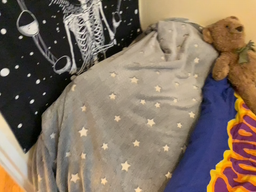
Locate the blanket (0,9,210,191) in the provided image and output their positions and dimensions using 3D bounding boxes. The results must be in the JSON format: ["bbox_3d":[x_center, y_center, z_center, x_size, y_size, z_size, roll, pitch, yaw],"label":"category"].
[{"bbox_3d":[0.030,-0.010,0.840,0.410,0.300,0.910,13,45,19],"label":"blanket"}]
